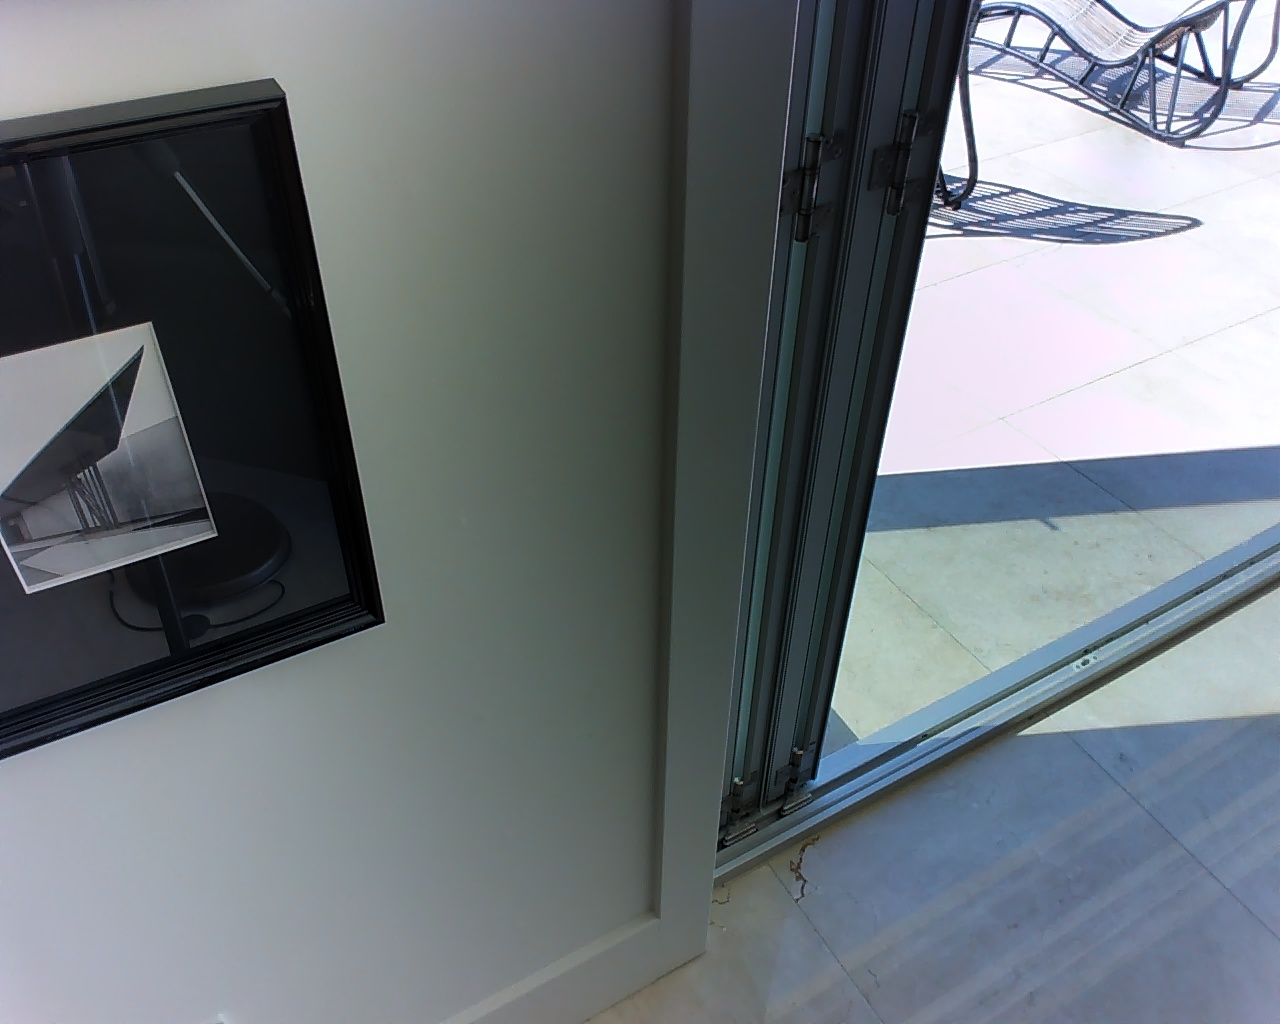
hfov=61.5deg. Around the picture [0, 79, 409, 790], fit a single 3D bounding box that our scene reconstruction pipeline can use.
[{"bbox_3d":[-0.340,-0.020,0.680,0.330,0.430,0.030,-21,45,-22],"label":"picture"}]
